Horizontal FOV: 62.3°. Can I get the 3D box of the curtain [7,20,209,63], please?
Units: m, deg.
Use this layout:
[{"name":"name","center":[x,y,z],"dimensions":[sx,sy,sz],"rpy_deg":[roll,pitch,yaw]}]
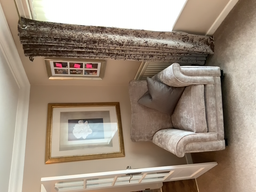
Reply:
[{"name":"curtain","center":[-0.130,-0.580,2.410],"dimensions":[0.350,2.130,0.200],"rpy_deg":[119,148,-62]}]
